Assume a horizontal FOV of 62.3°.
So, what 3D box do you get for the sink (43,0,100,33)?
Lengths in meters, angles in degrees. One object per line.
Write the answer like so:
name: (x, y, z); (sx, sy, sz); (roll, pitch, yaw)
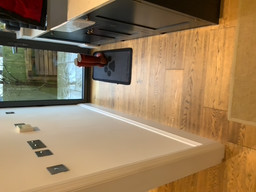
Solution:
sink: (-0.510, -0.900, 1.840); (0.600, 0.280, 0.570); (9, 99, 52)
